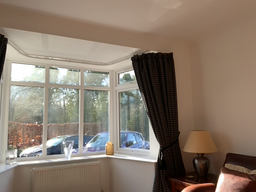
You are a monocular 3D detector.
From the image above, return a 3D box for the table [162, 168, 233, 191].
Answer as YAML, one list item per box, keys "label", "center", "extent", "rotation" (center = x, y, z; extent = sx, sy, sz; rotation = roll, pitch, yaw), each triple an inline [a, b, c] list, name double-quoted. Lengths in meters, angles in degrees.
- label: "table"
  center: [0.900, 1.310, 2.790]
  extent: [0.630, 0.540, 0.620]
  rotation: [2, -9, -27]

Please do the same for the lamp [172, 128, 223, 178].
- label: "lamp"
  center: [0.950, 0.750, 2.930]
  extent: [0.480, 0.600, 0.410]
  rotation: [2, -9, -28]
